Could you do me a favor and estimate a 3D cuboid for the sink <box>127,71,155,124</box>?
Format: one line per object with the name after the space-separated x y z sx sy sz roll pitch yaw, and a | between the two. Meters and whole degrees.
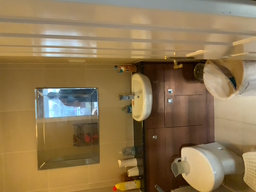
0.120 0.010 2.170 0.400 0.150 0.490 -173 81 -74 | sink

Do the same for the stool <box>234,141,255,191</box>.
1.010 0.580 1.730 0.230 0.140 0.350 -169 78 -74 | stool
